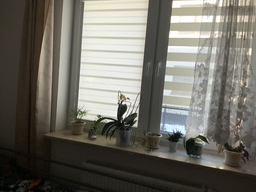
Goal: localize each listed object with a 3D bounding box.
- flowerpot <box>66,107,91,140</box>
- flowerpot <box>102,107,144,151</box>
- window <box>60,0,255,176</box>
[{"bbox_3d":[-0.480,0.260,2.060,0.170,0.280,0.130,6,4,18],"label":"flowerpot"},{"bbox_3d":[-0.040,0.280,1.890,0.280,0.310,0.230,6,4,20],"label":"flowerpot"},{"bbox_3d":[0.290,-0.260,1.850,1.800,1.510,0.260,6,4,19],"label":"window"}]
